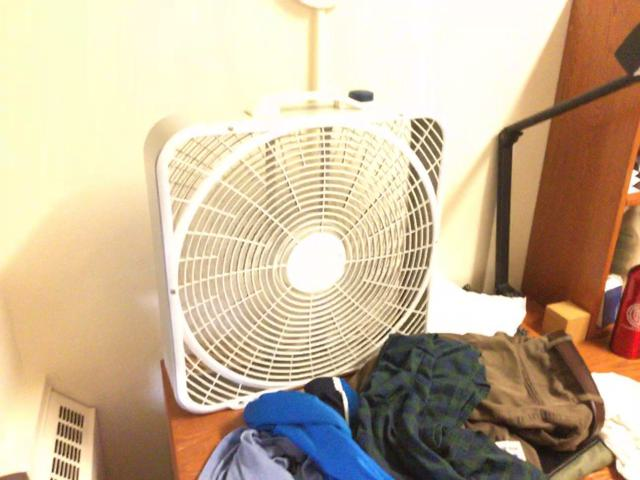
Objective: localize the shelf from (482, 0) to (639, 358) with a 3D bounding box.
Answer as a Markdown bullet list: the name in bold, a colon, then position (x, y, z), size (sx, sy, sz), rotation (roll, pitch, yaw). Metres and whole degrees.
- **shelf**: position (0.940, -0.240, 1.340), size (1.010, 0.810, 0.300), rotation (-8, 25, -13)
